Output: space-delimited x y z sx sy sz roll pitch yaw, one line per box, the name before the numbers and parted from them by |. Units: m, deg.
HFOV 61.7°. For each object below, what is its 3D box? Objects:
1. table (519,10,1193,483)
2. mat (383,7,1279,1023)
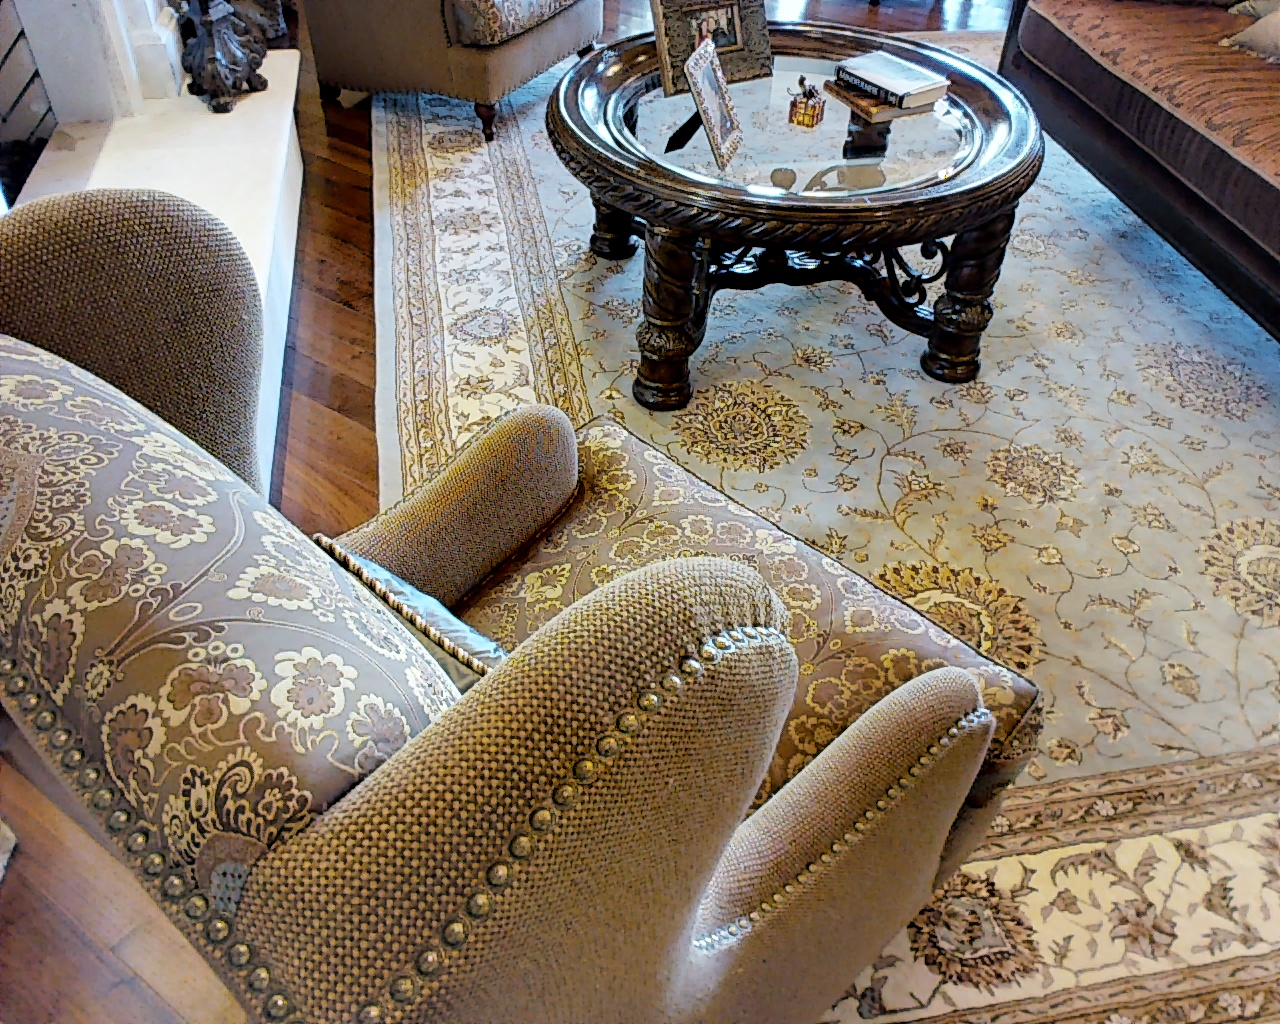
table | 0.400 -0.770 2.790 1.280 0.600 1.260 -6 42 -8
mat | 0.780 -0.660 3.040 2.930 0.150 4.090 -6 42 -8
